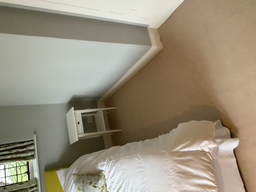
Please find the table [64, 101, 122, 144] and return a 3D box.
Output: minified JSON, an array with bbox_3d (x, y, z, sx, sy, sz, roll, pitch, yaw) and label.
[{"bbox_3d":[-0.530,0.390,3.180,0.420,0.690,0.480,-35,63,55],"label":"table"}]
